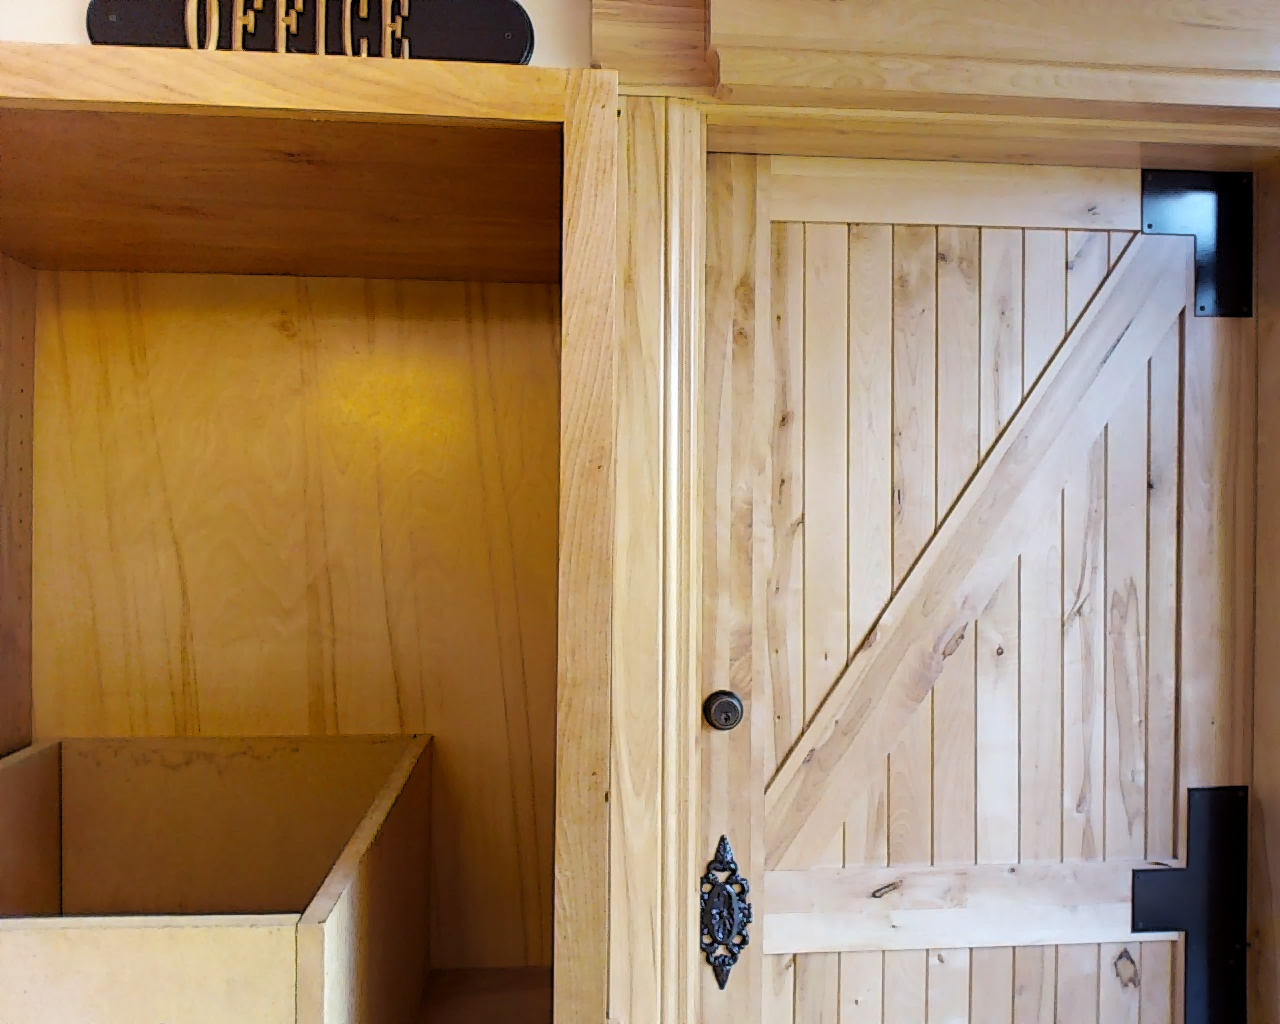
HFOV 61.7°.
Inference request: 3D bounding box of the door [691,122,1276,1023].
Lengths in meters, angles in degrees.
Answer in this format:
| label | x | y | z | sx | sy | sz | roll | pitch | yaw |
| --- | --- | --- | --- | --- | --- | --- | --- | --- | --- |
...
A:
| label | x | y | z | sx | sy | sz | roll | pitch | yaw |
| --- | --- | --- | --- | --- | --- | --- | --- | --- | --- |
| door | 0.530 | 0.500 | 1.660 | 0.890 | 2.140 | 0.050 | 1 | 0 | -6 |
